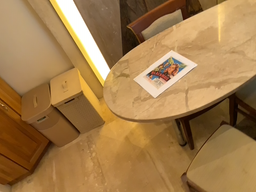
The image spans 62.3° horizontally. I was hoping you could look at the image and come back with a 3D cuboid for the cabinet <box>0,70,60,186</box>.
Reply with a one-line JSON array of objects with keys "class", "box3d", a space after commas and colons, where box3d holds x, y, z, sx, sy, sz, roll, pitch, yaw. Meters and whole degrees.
[{"class": "cabinet", "box3d": [-1.160, 0.320, 1.990, 0.560, 0.850, 0.550, -29, 46, -2]}]
